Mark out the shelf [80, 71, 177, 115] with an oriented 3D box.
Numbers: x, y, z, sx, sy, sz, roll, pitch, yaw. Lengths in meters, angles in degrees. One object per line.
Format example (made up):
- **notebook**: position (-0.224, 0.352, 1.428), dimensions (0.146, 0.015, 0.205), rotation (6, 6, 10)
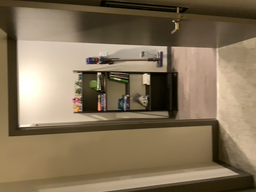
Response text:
- **shelf**: position (0.020, -0.060, 3.430), dimensions (0.260, 1.550, 0.650), rotation (180, 88, -76)
